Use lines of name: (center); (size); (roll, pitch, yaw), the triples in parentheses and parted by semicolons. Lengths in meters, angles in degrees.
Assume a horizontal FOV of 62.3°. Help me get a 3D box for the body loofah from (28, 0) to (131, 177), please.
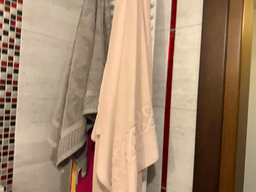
body loofah: (-0.210, -0.150, 0.940); (0.310, 0.860, 0.270); (4, 1, 38)

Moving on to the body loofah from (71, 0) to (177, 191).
body loofah: (-0.010, -0.030, 0.770); (0.250, 1.200, 0.240); (4, 1, 39)
